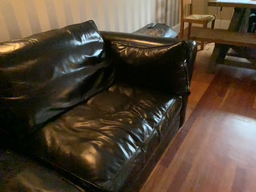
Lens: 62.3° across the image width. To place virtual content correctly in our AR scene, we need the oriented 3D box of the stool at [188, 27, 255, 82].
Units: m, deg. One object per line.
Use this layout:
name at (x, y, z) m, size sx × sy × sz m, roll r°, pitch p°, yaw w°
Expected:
stool at (1.900, -0.340, 2.210) m, size 2.390 × 0.440 × 0.410 m, roll 14°, pitch 36°, yaw 25°
